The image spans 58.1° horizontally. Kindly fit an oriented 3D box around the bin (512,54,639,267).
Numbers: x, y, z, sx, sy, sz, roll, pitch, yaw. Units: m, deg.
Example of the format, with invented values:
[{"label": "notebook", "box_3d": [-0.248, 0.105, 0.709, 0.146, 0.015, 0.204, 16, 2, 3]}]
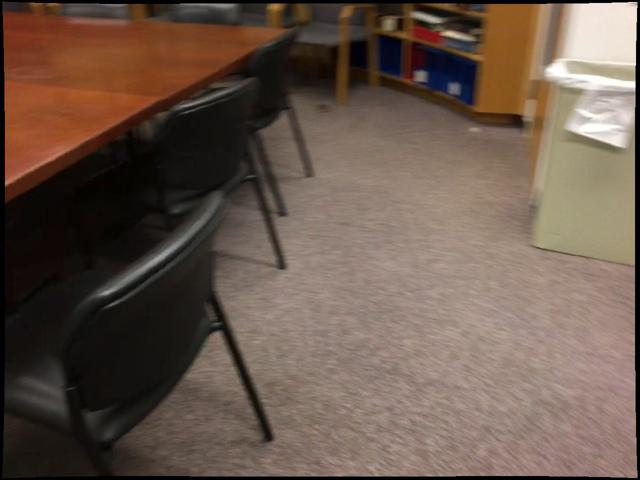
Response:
[{"label": "bin", "box_3d": [1.157, -0.321, 2.340, 0.559, 0.721, 0.310, 13, 34, 20]}]
